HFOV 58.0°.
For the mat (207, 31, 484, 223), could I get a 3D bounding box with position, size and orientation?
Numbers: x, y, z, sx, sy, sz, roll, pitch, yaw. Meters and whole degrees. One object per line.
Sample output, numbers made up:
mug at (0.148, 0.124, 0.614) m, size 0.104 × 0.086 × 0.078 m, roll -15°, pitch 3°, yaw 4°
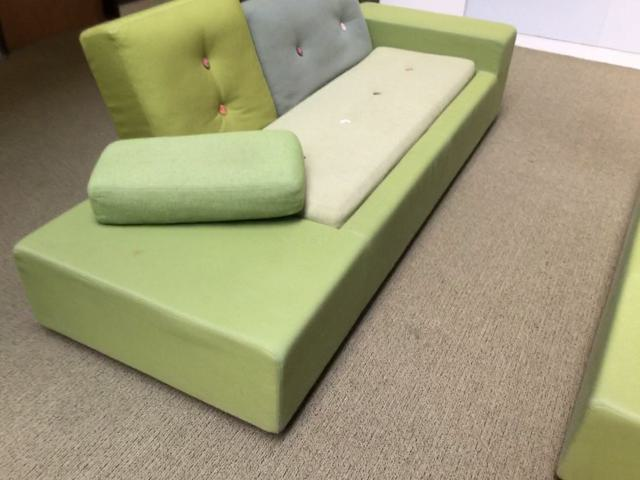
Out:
mat at (0.190, -0.530, 2.250) m, size 0.490 × 0.080 × 1.380 m, roll 19°, pitch 42°, yaw 22°
